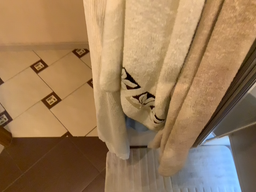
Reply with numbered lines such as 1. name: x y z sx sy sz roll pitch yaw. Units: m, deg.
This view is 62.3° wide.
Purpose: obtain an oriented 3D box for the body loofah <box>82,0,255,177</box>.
1. body loofah: 0.140 -0.080 0.490 0.370 1.510 0.240 3 60 1
